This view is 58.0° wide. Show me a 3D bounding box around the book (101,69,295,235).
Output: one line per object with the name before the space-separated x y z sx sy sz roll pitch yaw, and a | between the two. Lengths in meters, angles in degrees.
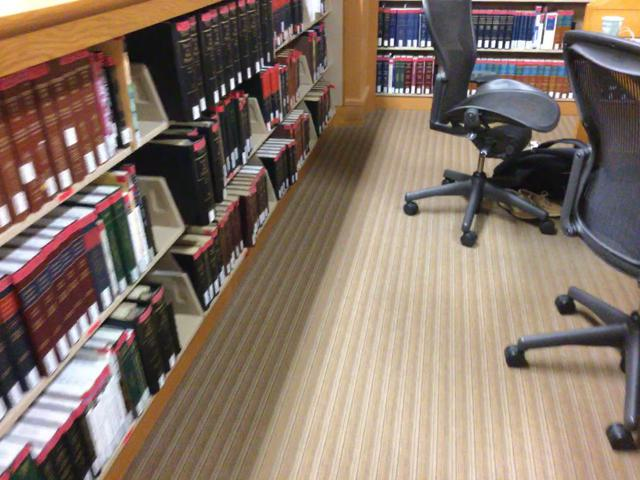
book | -0.370 -0.350 2.060 0.290 0.310 0.850 0 28 16

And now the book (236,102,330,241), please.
book | -0.150 -0.370 2.870 0.160 0.410 0.840 0 28 16

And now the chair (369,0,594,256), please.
chair | 0.740 -0.600 2.570 0.730 1.060 0.670 9 31 30

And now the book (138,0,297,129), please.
book | -0.280 -0.650 1.930 0.110 0.280 0.940 0 28 16

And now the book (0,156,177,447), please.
book | -0.600 0.090 1.260 0.180 0.300 0.750 0 28 16

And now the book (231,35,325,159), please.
book | -0.170 -0.730 2.840 0.140 0.380 0.870 0 28 16

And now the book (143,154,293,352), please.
book | -0.340 0.000 2.240 0.170 0.390 0.870 0 28 16

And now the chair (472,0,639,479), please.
chair | 0.900 -0.070 1.590 0.690 1.050 0.690 -12 27 -7
